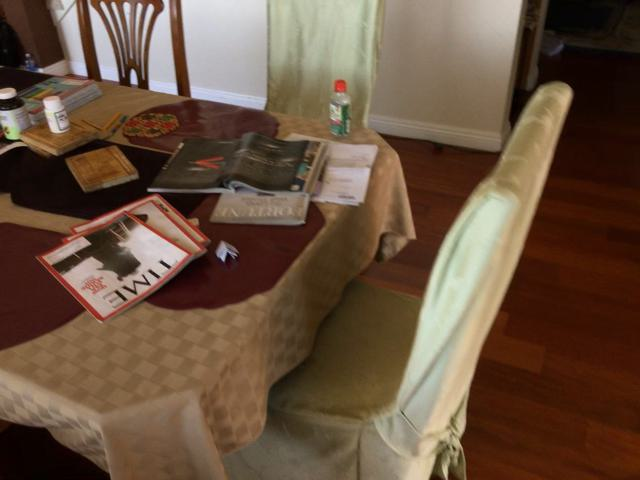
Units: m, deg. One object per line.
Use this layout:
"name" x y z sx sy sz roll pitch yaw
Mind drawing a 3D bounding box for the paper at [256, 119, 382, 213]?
"paper" 0.010 -0.190 1.390 0.230 0.030 0.350 8 38 10

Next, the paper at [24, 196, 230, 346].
"paper" -0.370 0.040 1.100 0.260 0.030 0.310 -28 46 -32
